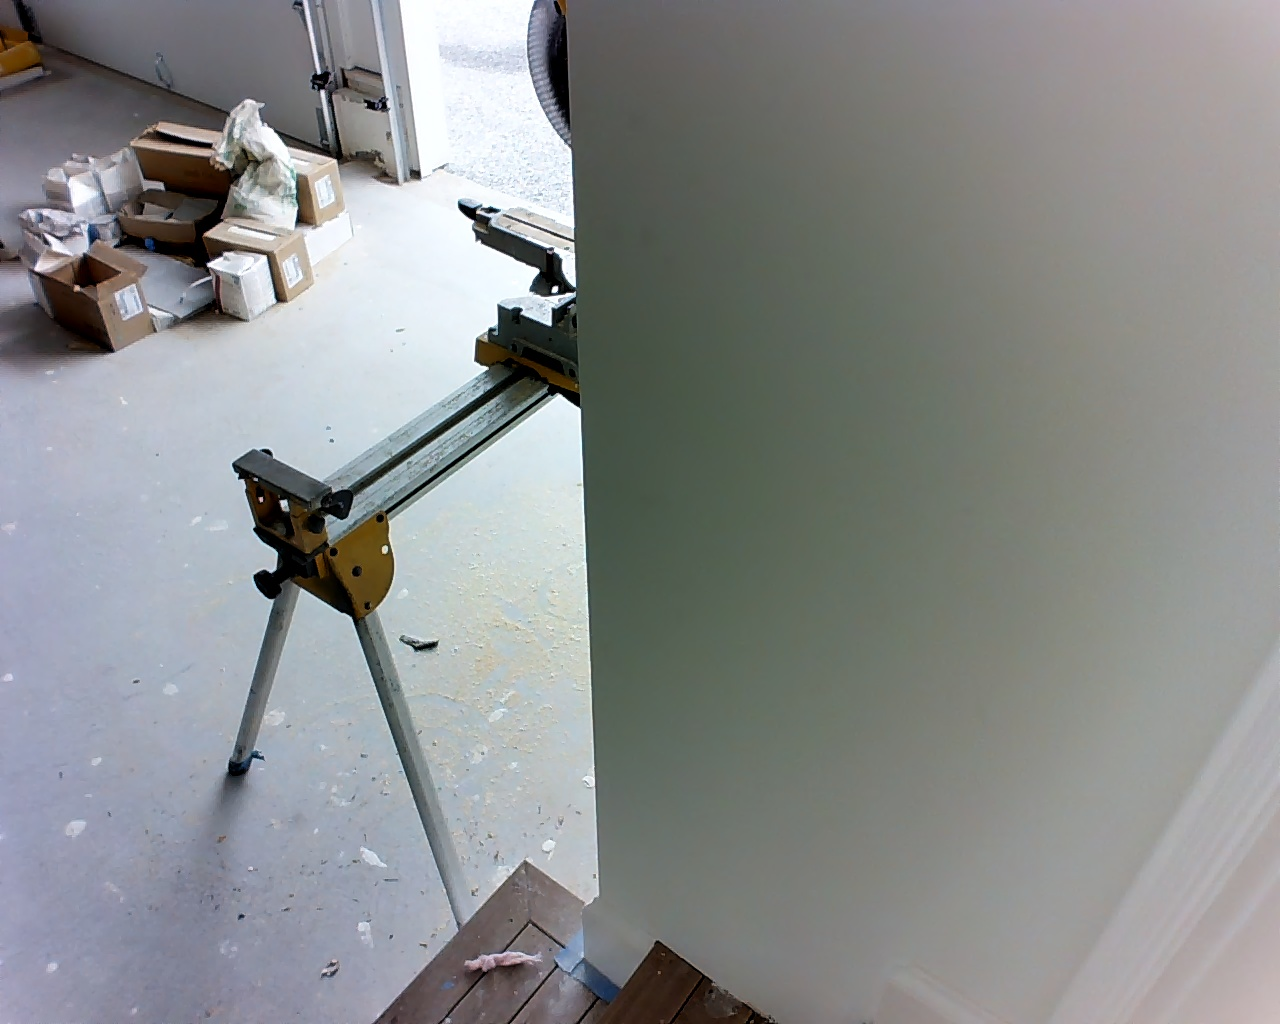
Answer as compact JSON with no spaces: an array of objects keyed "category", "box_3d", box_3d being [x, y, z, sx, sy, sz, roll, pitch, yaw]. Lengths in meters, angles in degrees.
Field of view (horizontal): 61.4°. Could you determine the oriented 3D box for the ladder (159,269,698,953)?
[{"category":"ladder","box_3d":[-0.320,0.190,2.080,0.500,0.980,0.730,26,48,26]}]
